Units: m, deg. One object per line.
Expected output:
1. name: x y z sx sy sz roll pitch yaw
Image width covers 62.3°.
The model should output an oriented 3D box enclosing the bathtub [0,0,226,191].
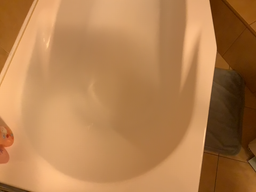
1. bathtub: -0.010 -0.260 1.130 0.790 0.550 1.470 13 73 5
